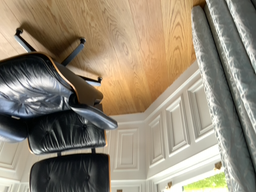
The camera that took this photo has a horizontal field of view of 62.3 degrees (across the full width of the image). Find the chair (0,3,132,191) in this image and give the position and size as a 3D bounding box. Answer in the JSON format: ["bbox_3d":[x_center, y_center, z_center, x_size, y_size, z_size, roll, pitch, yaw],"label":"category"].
[{"bbox_3d":[-0.510,0.150,1.330,0.840,0.820,0.880,-9,143,15],"label":"chair"}]
